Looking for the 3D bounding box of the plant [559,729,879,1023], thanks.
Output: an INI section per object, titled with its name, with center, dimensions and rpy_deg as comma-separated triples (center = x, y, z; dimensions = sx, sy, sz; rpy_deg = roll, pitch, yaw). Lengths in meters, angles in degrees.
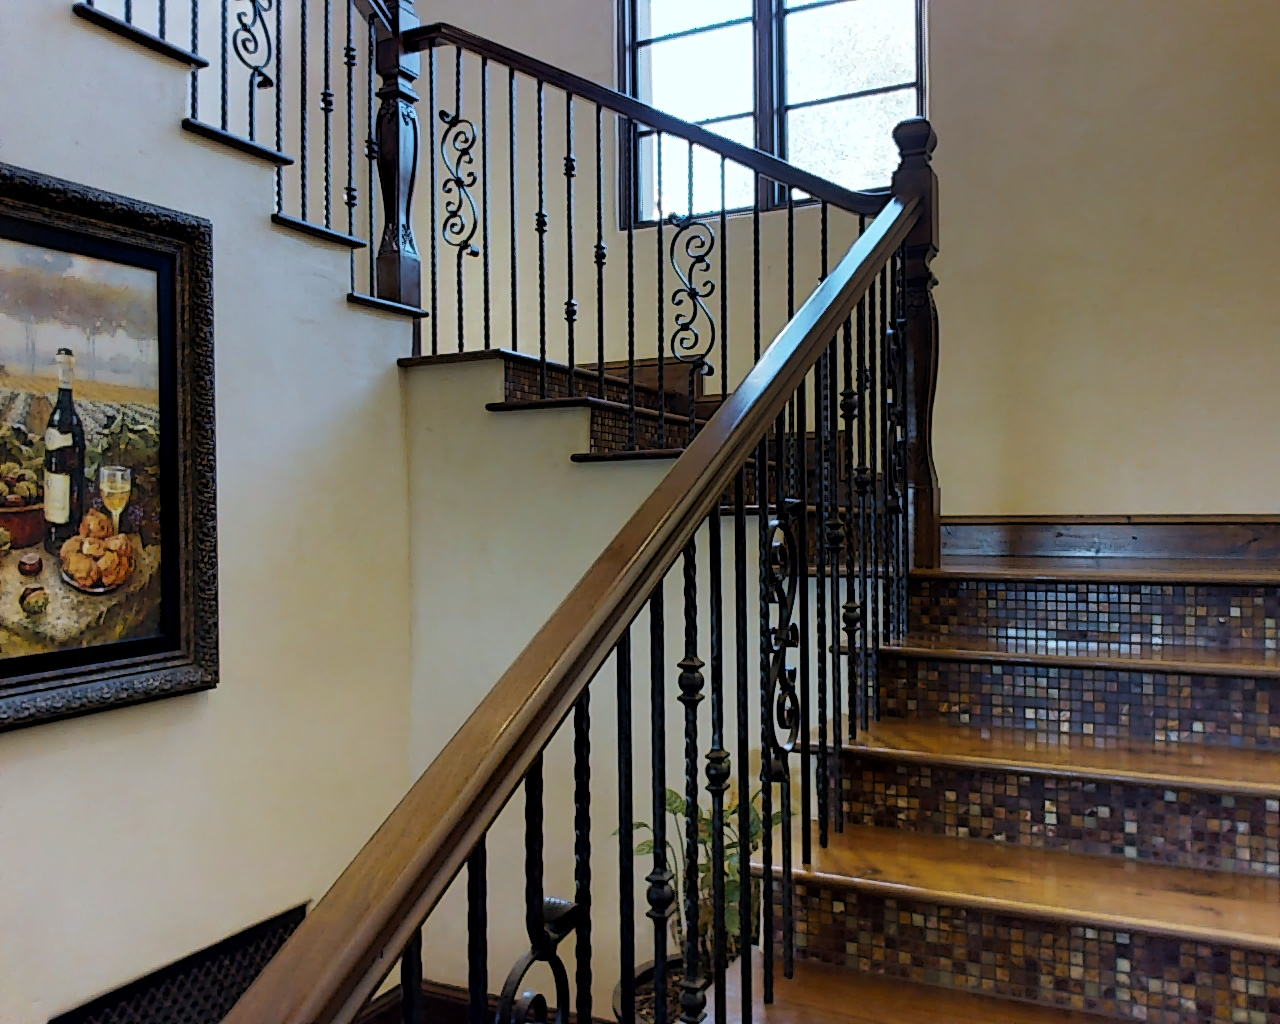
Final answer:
[plant]
center = 0.210, 1.080, 2.530
dimensions = 0.560, 0.970, 0.620
rpy_deg = 0, 0, 26
